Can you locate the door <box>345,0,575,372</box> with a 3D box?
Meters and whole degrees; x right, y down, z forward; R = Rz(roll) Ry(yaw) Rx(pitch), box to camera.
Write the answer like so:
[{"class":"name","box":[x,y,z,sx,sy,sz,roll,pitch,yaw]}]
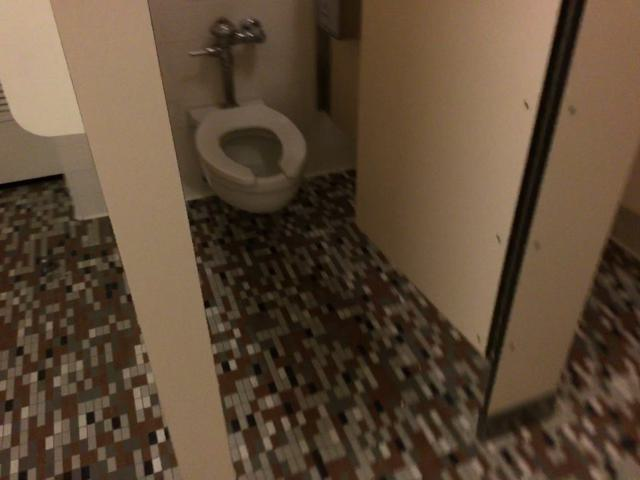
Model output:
[{"class":"door","box":[0.220,-0.440,1.140,0.050,1.380,0.640,-16,38,-20]}]
